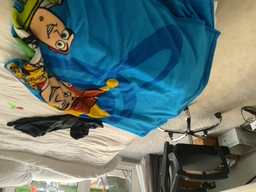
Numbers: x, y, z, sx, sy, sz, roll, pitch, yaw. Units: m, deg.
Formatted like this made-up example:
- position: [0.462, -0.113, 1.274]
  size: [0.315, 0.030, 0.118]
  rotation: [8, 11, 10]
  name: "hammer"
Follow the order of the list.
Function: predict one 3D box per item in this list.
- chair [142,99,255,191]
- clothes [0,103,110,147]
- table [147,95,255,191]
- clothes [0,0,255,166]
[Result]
- position: [0.600, 0.760, 2.010]
  size: [0.790, 1.120, 0.820]
  rotation: [-6, 145, 9]
  name: "chair"
- position: [-0.450, 0.200, 1.320]
  size: [0.590, 0.050, 0.310]
  rotation: [-13, 143, 18]
  name: "clothes"
- position: [1.020, 0.850, 2.480]
  size: [0.790, 0.720, 1.840]
  rotation: [14, 143, -19]
  name: "table"
- position: [0.050, -0.110, 1.130]
  size: [0.930, 0.580, 1.020]
  rotation: [-14, 143, 19]
  name: "clothes"
